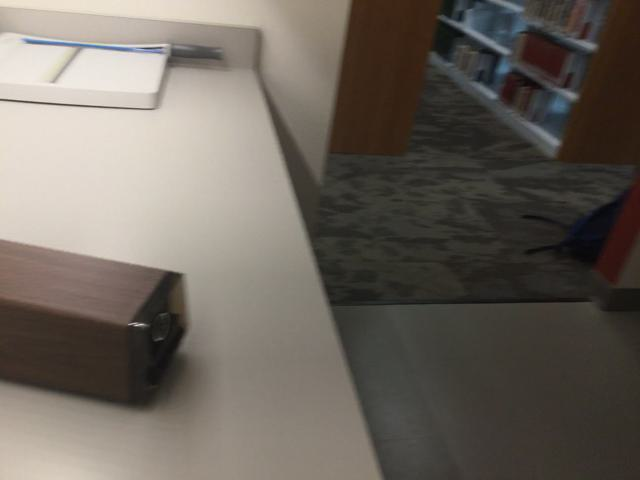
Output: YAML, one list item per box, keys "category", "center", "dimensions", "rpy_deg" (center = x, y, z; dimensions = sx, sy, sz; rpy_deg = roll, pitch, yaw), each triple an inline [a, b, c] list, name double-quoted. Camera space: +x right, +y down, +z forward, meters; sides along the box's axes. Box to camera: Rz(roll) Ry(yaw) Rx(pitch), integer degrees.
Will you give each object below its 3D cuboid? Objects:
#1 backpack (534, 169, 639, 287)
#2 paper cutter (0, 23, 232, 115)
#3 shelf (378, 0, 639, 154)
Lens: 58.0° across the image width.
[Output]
- category: "backpack"
  center: [1.150, -0.060, 2.400]
  dimensions: [0.250, 0.300, 0.440]
  rpy_deg: [0, 32, -11]
- category: "paper cutter"
  center: [-0.450, -0.380, 1.260]
  dimensions: [0.500, 0.070, 0.360]
  rpy_deg: [0, 32, -10]
- category: "shelf"
  center: [1.290, -2.340, 4.920]
  dimensions: [0.420, 1.300, 4.900]
  rpy_deg: [0, 32, -11]
